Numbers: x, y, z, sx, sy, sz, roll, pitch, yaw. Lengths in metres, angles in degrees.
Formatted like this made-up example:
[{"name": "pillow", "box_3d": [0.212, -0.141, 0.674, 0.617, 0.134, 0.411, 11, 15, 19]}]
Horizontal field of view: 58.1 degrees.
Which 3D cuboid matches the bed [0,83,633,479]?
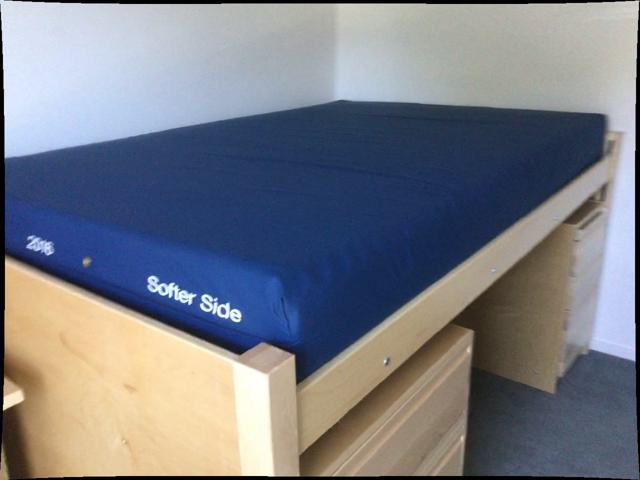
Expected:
[{"name": "bed", "box_3d": [0.000, 0.170, 2.090, 1.489, 1.152, 2.199, 13, 26, 35]}]
